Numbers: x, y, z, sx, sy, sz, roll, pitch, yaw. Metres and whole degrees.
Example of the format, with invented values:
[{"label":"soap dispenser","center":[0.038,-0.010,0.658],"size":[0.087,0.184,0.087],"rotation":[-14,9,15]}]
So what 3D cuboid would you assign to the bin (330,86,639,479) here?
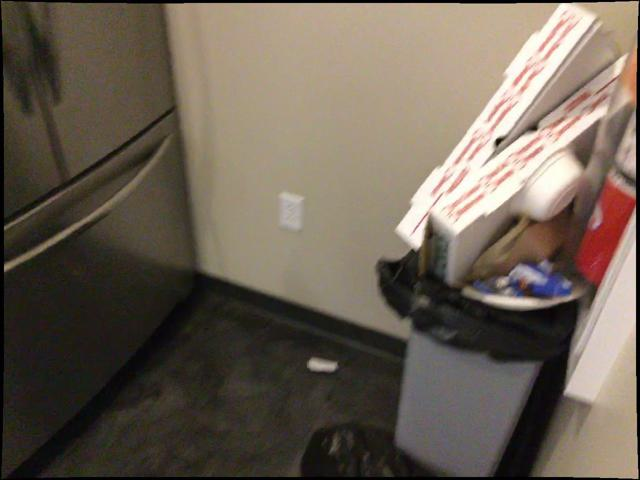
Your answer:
[{"label":"bin","center":[0.329,0.211,1.280],"size":[0.379,0.871,0.550],"rotation":[19,41,20]}]
